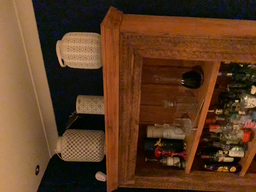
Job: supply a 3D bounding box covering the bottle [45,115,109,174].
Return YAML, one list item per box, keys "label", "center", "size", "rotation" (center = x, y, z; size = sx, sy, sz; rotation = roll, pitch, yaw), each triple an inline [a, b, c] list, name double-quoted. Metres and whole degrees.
- label: "bottle"
  center: [-0.390, 0.400, 1.740]
  size: [0.260, 0.430, 0.380]
  rotation: [-86, -1, -57]

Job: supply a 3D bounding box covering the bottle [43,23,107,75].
- label: "bottle"
  center: [-0.290, -0.280, 1.250]
  size: [0.200, 0.310, 0.230]
  rotation: [-86, -1, -55]
